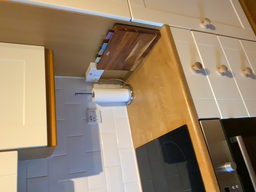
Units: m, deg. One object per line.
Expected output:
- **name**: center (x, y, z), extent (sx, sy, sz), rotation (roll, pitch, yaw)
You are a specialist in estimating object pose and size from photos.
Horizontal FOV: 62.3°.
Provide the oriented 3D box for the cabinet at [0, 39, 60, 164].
- **cabinet**: center (-0.680, 0.040, 0.950), extent (0.320, 0.650, 0.500), rotation (136, 129, -56)
